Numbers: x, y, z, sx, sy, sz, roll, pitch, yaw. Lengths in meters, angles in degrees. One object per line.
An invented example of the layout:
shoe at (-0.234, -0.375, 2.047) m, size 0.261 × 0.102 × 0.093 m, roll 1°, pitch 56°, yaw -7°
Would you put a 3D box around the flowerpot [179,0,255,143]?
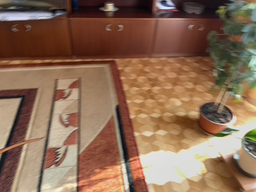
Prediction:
flowerpot at (0.920, -0.240, 1.730) m, size 0.580 × 1.020 × 0.650 m, roll -4°, pitch 39°, yaw -12°
